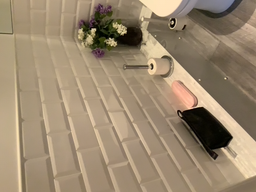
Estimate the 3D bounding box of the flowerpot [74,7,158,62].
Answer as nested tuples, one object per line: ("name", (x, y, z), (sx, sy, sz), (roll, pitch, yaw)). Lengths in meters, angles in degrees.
("flowerpot", (-0.100, -0.440, 1.560), (0.260, 0.510, 0.270), (59, 143, 41))
